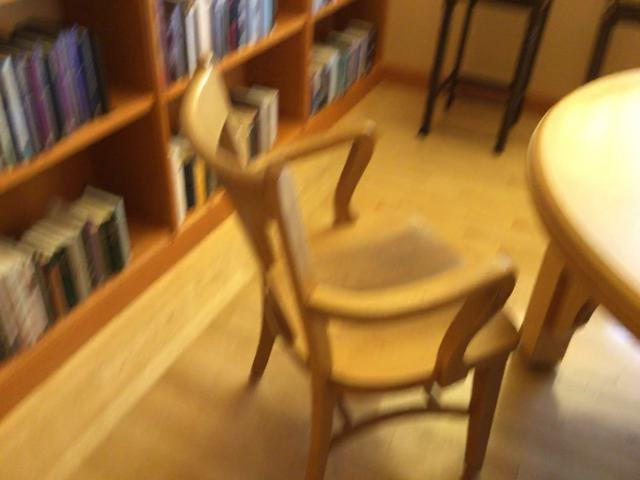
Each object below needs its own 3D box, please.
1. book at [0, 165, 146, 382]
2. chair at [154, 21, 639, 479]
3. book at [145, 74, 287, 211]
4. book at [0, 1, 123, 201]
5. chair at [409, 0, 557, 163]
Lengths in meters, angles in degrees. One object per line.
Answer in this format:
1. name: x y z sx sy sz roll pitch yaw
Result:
1. book: -0.810 0.130 1.480 0.200 0.280 0.810 16 39 19
2. chair: 0.060 0.100 1.260 0.680 0.900 0.690 -7 37 -12
3. book: -0.370 -0.400 2.240 0.220 0.260 0.620 16 39 19
4. book: -0.800 -0.250 1.240 0.220 0.310 0.780 16 39 19
5. chair: 0.760 -1.000 2.540 0.470 1.130 0.520 16 39 19
